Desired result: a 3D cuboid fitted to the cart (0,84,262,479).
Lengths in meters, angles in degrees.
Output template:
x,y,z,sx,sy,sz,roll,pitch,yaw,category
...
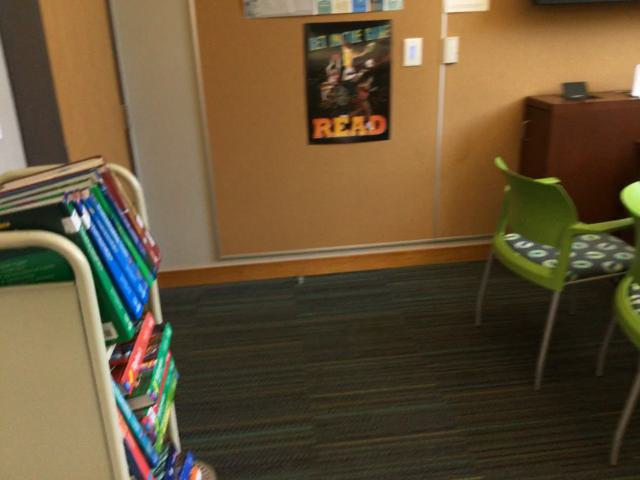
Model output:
x,y,z,sx,sy,sz,roll,pitch,yaw,category
-0.430,0.330,1.230,0.460,1.220,0.540,-7,17,-1,cart
